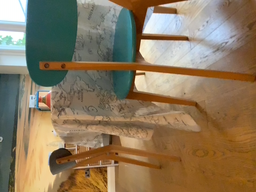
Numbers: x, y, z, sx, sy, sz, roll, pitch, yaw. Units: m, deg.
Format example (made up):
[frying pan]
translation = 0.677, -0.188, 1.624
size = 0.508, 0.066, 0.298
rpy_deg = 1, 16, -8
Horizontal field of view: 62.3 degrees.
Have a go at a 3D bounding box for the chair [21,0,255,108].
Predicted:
[chair]
translation = 0.030, -0.220, 0.950
size = 0.510, 0.790, 0.440
rpy_deg = 132, 137, -69

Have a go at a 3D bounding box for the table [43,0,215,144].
[table]
translation = -0.140, -0.150, 1.660
size = 1.320, 0.770, 0.930
rpy_deg = 132, 137, -69
